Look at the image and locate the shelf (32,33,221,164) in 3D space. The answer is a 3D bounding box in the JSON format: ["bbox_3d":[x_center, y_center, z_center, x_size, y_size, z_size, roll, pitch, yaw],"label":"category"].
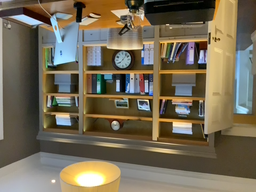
[{"bbox_3d":[-0.130,-0.020,3.490,2.940,1.670,0.680,2,-176,18],"label":"shelf"}]
